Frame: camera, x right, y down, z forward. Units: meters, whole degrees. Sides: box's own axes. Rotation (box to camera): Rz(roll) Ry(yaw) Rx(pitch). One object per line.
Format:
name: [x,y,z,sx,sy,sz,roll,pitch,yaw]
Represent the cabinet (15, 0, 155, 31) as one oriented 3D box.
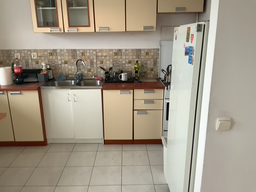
cabinet: [-0.540,-1.180,2.840,1.770,0.580,0.320,0,16,0]
